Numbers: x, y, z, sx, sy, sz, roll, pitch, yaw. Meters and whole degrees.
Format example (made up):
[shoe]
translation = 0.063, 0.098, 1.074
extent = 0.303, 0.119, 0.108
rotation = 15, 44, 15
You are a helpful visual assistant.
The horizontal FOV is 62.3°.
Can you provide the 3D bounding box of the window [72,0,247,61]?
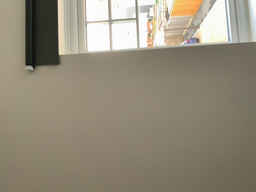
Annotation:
[window]
translation = 0.170, -0.790, 1.430
extent = 0.080, 1.090, 1.040
rotation = 59, -152, -84
